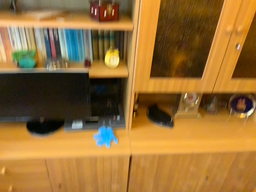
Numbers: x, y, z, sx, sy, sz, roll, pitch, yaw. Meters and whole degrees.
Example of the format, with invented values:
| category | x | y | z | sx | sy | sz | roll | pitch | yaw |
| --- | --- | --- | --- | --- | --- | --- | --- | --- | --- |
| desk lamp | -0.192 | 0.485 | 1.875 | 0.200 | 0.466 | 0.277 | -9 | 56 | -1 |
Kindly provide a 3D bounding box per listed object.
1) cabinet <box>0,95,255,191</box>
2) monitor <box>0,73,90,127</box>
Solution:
| category | x | y | z | sx | sy | sz | roll | pitch | yaw |
| --- | --- | --- | --- | --- | --- | --- | --- | --- | --- |
| cabinet | -0.020 | 0.390 | 1.520 | 1.880 | 0.590 | 0.520 | 0 | 34 | -7 |
| monitor | -0.520 | 0.030 | 1.160 | 0.600 | 0.330 | 0.040 | 0 | 34 | -7 |
